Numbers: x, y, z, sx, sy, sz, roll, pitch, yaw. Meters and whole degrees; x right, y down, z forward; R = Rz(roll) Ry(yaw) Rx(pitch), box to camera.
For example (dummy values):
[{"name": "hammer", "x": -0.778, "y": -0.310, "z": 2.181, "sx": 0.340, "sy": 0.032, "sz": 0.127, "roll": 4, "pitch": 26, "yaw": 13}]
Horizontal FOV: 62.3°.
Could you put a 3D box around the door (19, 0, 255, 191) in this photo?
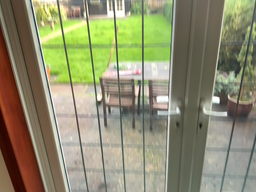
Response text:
[{"name": "door", "x": 0.330, "y": 0.090, "z": 1.210, "sx": 1.680, "sy": 2.130, "sz": 0.050, "roll": 1, "pitch": 25, "yaw": 7}]
